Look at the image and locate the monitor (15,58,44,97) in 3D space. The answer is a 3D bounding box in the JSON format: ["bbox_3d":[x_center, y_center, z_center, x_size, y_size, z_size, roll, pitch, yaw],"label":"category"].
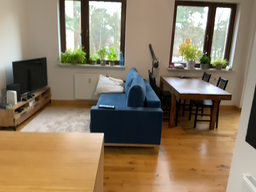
[{"bbox_3d":[-1.900,-0.400,4.170,0.070,0.610,0.990,3,15,0],"label":"monitor"}]

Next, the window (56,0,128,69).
[{"bbox_3d":[-0.790,-1.390,4.660,1.510,1.500,0.110,3,15,1],"label":"window"}]

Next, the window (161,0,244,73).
[{"bbox_3d":[1.660,-1.360,4.890,1.610,1.560,0.240,3,15,-1],"label":"window"}]
